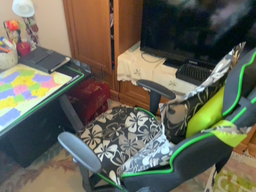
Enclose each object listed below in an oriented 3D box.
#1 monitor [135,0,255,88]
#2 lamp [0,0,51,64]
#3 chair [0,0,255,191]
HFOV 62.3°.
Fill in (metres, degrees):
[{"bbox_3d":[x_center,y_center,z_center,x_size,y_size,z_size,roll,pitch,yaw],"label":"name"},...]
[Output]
[{"bbox_3d":[0.520,-0.480,1.610,1.000,0.590,0.070,22,42,23],"label":"monitor"},{"bbox_3d":[-0.580,-0.380,1.230,0.150,0.330,0.130,23,43,24],"label":"lamp"},{"bbox_3d":[0.050,0.170,1.110,0.930,1.240,0.670,32,47,32],"label":"chair"}]
